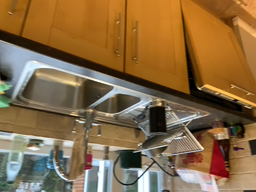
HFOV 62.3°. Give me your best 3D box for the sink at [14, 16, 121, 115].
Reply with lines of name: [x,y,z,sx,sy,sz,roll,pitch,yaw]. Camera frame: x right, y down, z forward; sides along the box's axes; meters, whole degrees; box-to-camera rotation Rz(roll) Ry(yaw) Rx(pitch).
sink: [-0.310,-0.100,1.050,0.360,0.210,0.460,15,153,-30]

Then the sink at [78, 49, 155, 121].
sink: [-0.080,-0.030,1.190,0.240,0.210,0.420,15,153,-30]
